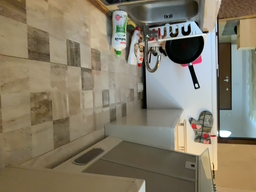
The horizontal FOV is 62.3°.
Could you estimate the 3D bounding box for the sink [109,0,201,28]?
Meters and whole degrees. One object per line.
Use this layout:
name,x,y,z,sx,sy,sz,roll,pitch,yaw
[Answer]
sink,0.180,-0.550,1.230,0.460,0.160,0.400,0,-177,19
